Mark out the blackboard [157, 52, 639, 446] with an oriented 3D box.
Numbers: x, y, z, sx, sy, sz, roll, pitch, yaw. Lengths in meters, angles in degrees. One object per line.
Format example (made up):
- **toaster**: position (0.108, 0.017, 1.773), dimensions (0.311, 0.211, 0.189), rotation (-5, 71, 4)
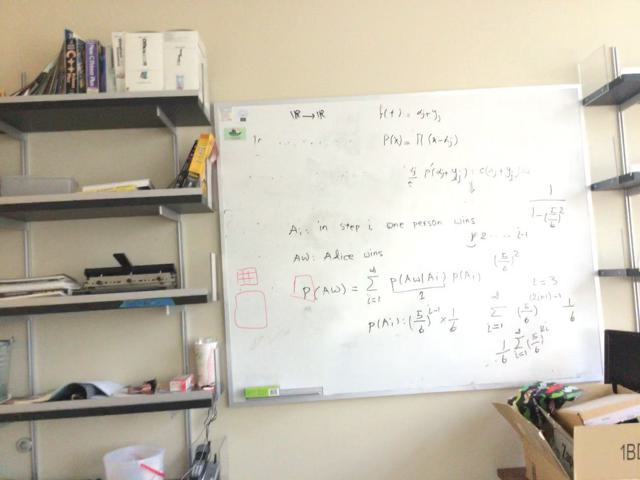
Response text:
- **blackboard**: position (0.320, 0.020, 2.230), dimensions (1.790, 1.320, 0.270), rotation (-4, -8, 0)
